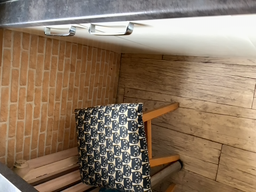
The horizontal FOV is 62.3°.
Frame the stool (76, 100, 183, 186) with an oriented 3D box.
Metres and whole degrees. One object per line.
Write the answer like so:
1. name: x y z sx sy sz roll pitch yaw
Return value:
1. stool: 0.030 0.210 1.120 0.320 0.460 0.320 -10 86 36
